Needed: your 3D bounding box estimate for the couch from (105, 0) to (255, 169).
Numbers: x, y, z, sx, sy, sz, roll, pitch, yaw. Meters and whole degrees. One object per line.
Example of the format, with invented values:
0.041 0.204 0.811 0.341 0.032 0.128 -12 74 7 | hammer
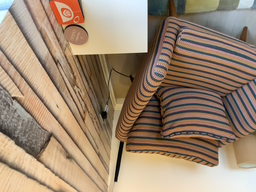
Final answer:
0.400 -0.060 1.430 0.860 0.780 0.780 13 144 -16 | couch
